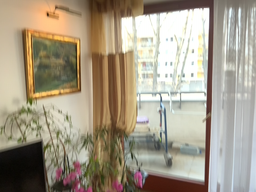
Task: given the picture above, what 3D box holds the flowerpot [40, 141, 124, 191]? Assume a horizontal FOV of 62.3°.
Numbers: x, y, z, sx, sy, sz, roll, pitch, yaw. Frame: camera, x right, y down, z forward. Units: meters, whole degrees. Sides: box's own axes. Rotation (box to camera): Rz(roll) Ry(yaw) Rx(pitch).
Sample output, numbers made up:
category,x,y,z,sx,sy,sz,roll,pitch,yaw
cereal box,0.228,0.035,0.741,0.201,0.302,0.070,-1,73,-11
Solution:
category,x,y,z,sx,sy,sz,roll,pitch,yaw
flowerpot,-0.340,0.890,1.700,0.540,0.920,0.330,2,9,22
